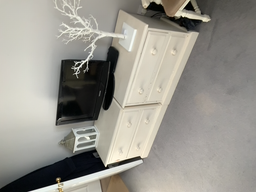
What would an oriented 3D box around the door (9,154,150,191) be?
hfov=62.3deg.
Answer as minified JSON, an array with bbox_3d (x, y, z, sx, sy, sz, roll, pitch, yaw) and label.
[{"bbox_3d":[-0.710,1.060,2.640,0.920,1.850,0.080,-42,60,49],"label":"door"}]
